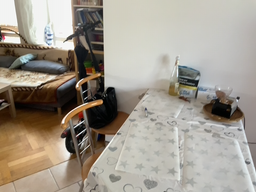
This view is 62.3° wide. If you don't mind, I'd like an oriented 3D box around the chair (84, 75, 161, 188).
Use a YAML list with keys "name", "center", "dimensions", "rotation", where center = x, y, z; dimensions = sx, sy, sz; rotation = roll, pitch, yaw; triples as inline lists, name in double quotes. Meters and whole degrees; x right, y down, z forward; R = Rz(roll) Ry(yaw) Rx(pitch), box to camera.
- name: "chair"
  center: [-0.040, 0.290, 1.850]
  dimensions: [0.520, 0.810, 0.380]
  rotation: [9, 24, 15]

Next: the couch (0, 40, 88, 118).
- name: "couch"
  center: [-1.720, -0.360, 3.270]
  dimensions: [1.950, 0.760, 0.900]
  rotation: [9, 24, 14]

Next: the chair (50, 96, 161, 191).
- name: "chair"
  center: [-0.130, 0.490, 1.380]
  dimensions: [0.520, 0.810, 0.370]
  rotation: [13, 25, 23]
